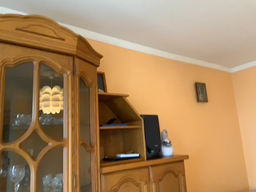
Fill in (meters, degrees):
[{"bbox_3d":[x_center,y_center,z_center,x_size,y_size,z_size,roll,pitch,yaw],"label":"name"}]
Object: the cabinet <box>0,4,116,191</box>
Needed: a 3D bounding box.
[{"bbox_3d":[-0.580,0.430,1.220,0.870,1.700,0.500,5,-13,-36],"label":"cabinet"}]
